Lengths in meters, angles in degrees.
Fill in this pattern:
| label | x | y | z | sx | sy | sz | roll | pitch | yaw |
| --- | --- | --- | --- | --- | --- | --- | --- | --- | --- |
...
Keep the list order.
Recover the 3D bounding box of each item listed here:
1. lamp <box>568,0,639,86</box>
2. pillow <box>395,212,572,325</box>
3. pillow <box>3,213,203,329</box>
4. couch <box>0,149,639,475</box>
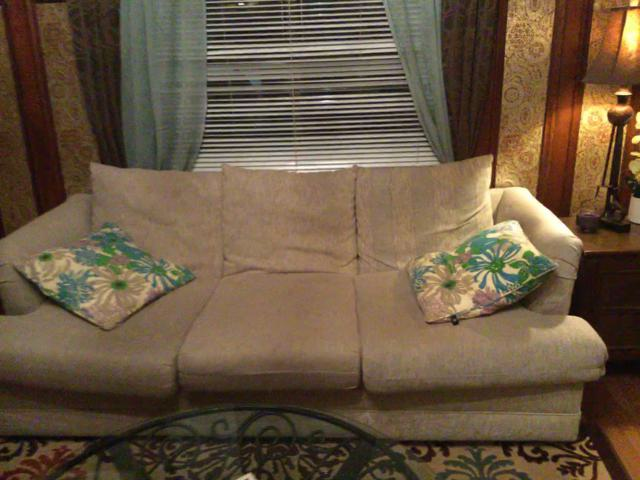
| label | x | y | z | sx | sy | sz | roll | pitch | yaw |
| --- | --- | --- | --- | --- | --- | --- | --- | --- | --- |
| lamp | 1.100 | -0.730 | 2.120 | 0.230 | 0.310 | 0.330 | 0 | 16 | 4 |
| pillow | 0.550 | 0.080 | 2.120 | 0.510 | 0.240 | 0.570 | 0 | 16 | 4 |
| pillow | -0.800 | 0.090 | 2.210 | 0.460 | 0.240 | 0.520 | 6 | 18 | 23 |
| couch | -0.120 | 0.170 | 2.240 | 2.160 | 0.890 | 0.990 | 0 | 16 | 4 |
